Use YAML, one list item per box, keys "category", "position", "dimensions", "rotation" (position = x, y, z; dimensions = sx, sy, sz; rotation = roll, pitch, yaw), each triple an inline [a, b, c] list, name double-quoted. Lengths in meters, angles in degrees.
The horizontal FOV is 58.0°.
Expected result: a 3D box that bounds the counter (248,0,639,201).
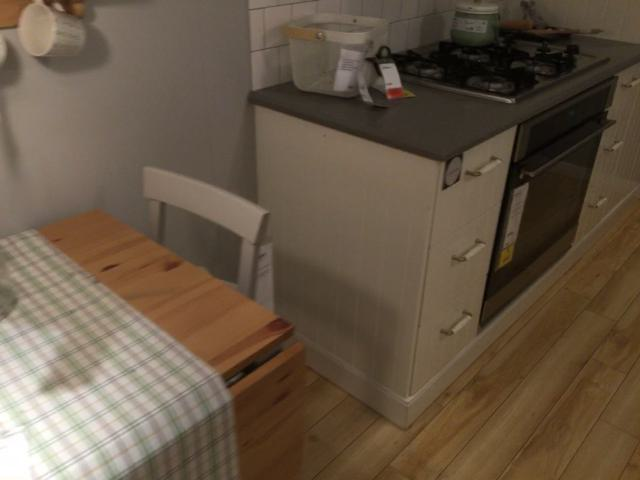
- category: "counter"
  position: [0.580, -0.570, 1.910]
  dimensions: [0.650, 0.210, 1.550]
  rotation: [24, 39, 38]
